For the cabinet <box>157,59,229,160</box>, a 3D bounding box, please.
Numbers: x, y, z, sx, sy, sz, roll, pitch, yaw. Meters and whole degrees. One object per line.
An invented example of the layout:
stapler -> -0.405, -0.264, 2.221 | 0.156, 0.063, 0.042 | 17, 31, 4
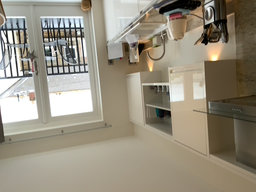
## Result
cabinet -> 0.590, 0.090, 2.030 | 0.320, 0.800, 0.610 | -6, -174, -18

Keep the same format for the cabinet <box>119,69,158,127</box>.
cabinet -> 0.140, 0.010, 3.340 | 0.340, 0.800, 0.650 | -6, -174, -18
